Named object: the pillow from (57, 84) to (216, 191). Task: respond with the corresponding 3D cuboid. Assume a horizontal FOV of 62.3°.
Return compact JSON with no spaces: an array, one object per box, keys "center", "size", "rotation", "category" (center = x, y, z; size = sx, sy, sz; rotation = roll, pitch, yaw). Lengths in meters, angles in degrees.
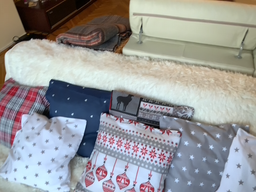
[{"center":[0.050,0.250,0.960],"size":[0.430,0.530,0.200],"rotation":[58,28,-26],"category":"pillow"}]
